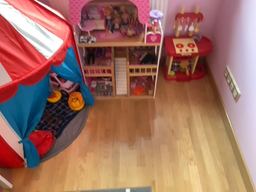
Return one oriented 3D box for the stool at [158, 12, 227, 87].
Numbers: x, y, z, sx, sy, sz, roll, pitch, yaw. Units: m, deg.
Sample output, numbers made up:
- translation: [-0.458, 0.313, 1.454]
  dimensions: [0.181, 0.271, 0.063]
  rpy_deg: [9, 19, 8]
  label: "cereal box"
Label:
- translation: [0.540, -0.410, 1.950]
  dimensions: [0.420, 0.580, 0.340]
  rpy_deg: [-2, 49, -3]
  label: "stool"
